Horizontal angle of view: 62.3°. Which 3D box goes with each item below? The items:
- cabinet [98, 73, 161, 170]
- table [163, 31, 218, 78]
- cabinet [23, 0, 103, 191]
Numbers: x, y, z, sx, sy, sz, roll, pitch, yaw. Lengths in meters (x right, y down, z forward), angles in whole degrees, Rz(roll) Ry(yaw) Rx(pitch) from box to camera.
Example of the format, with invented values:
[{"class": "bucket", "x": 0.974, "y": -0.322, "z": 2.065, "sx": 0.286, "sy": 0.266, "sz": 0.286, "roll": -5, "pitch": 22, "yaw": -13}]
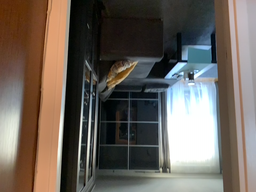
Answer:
[{"class": "cabinet", "x": 0.050, "y": 0.630, "z": 5.540, "sx": 1.520, "sy": 2.380, "sz": 0.510, "roll": 1, "pitch": 171, "yaw": 0}, {"class": "table", "x": 0.960, "y": -0.630, "z": 3.460, "sx": 0.580, "sy": 0.450, "sz": 0.910, "roll": 1, "pitch": 171, "yaw": -2}, {"class": "cabinet", "x": -0.520, "y": -0.100, "z": 2.000, "sx": 0.410, "sy": 1.990, "sz": 0.770, "roll": 1, "pitch": 171, "yaw": 0}]
